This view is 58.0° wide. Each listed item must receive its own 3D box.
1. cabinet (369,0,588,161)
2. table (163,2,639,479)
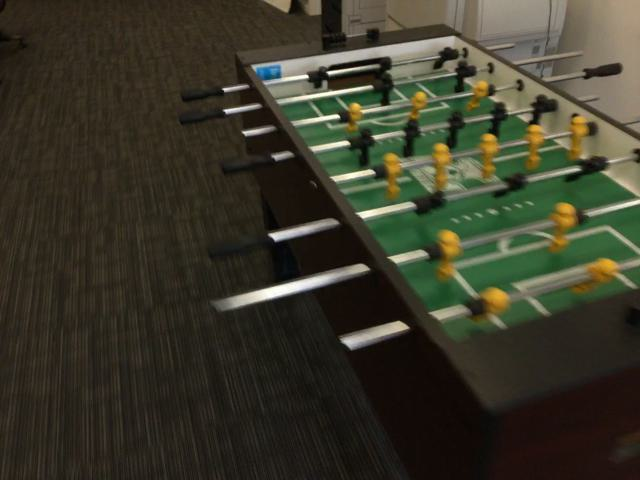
[{"bbox_3d":[0.670,-0.950,2.660,0.600,0.810,0.770,-12,38,-15],"label":"cabinet"},{"bbox_3d":[0.370,0.080,1.510,1.160,0.870,1.480,-14,39,-17],"label":"table"}]
